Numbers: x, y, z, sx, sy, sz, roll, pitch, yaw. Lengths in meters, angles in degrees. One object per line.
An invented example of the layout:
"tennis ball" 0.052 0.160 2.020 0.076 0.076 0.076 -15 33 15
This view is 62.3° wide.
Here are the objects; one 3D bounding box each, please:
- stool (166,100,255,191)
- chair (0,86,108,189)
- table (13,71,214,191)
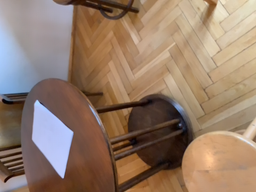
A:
"stool" 0.460 0.230 0.900 0.330 0.520 0.340 12 102 41
"chair" -0.680 0.240 1.780 0.640 0.760 0.550 12 102 41
"table" -0.080 0.260 1.200 0.750 0.790 0.730 11 101 42
